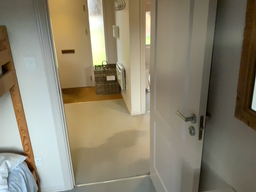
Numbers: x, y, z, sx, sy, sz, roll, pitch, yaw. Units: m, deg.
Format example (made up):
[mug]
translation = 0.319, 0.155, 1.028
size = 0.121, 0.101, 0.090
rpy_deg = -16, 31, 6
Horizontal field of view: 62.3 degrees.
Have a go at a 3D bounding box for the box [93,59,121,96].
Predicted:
[box]
translation = -0.490, -0.440, 4.870
size = 0.520, 0.650, 0.660
rpy_deg = -5, 21, -11
